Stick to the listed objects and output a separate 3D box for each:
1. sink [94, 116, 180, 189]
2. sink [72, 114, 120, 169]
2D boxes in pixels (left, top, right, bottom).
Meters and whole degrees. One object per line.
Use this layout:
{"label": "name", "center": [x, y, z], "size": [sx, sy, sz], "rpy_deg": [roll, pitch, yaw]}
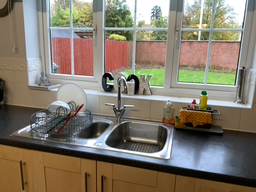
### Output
{"label": "sink", "center": [0.090, 0.320, 1.370], "size": [0.450, 0.190, 0.490], "rpy_deg": [6, 14, 14]}
{"label": "sink", "center": [-0.200, 0.290, 1.460], "size": [0.170, 0.190, 0.420], "rpy_deg": [6, 14, 14]}
